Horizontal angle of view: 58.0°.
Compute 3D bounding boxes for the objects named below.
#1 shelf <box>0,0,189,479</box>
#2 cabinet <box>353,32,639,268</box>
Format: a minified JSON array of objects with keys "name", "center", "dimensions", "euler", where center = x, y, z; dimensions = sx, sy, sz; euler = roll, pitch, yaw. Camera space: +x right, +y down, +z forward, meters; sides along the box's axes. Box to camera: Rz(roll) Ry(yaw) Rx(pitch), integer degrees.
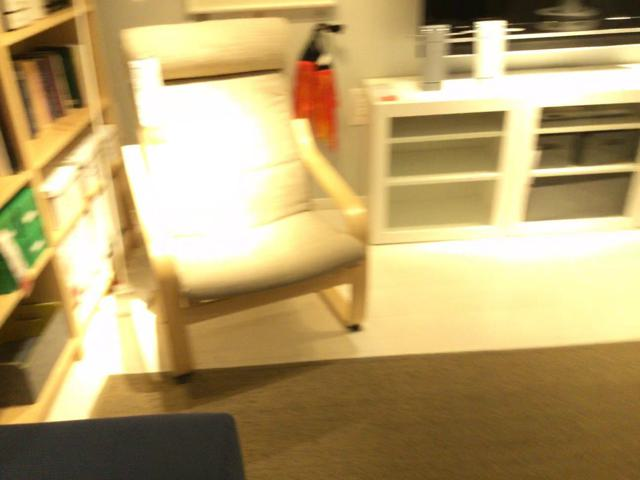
[{"name":"shelf","center":[-0.930,-0.140,1.740],"dimensions":[0.400,1.280,1.730],"euler":[-8,25,4]},{"name":"cabinet","center":[1.120,-0.440,2.500],"dimensions":[1.850,0.720,0.500],"euler":[-8,25,4]}]
